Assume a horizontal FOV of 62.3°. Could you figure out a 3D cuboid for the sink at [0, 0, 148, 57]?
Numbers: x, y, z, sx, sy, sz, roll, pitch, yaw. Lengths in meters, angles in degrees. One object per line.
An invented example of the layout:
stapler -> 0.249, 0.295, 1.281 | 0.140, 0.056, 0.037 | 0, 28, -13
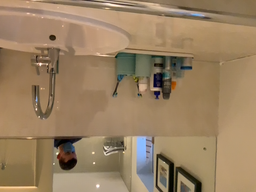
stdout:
sink -> -0.260, -0.290, 0.750 | 0.540, 0.190, 0.490 | 2, -179, -12
